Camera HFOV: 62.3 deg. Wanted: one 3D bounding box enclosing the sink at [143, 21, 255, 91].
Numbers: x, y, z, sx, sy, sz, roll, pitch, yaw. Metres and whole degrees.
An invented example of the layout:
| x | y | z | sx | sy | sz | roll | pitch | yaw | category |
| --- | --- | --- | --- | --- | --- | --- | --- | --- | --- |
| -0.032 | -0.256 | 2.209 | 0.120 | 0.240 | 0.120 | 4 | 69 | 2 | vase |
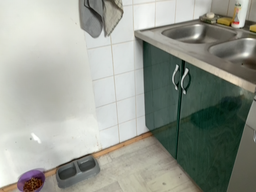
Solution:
| x | y | z | sx | sy | sz | roll | pitch | yaw | category |
| --- | --- | --- | --- | --- | --- | --- | --- | --- | --- |
| 0.400 | -0.270 | 1.260 | 0.470 | 0.210 | 0.420 | -16 | 34 | -21 | sink |
